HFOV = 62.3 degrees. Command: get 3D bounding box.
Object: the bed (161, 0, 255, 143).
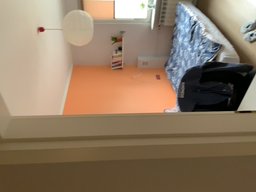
[{"bbox_3d":[1.110,-0.540,3.630,2.120,0.480,1.520,-96,7,-50],"label":"bed"}]
